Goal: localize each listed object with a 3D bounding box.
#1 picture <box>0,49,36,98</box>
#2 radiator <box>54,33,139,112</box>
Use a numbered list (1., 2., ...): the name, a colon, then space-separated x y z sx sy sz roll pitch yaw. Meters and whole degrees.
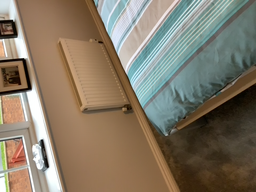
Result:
1. picture: -0.880 -0.180 1.580 0.350 0.230 0.130 55 132 19
2. radiator: -0.280 -0.230 1.880 0.080 0.540 0.760 -49 57 40
